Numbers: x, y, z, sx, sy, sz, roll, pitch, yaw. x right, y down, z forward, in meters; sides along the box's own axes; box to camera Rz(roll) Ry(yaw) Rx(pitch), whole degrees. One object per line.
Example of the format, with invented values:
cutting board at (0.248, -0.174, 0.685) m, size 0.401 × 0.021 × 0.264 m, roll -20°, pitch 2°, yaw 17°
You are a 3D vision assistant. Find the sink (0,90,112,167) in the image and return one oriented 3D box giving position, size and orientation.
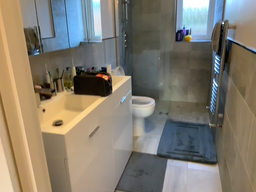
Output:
sink at (-0.440, 0.150, 1.350) m, size 0.470 × 0.170 × 0.630 m, roll 4°, pitch 20°, yaw 16°
